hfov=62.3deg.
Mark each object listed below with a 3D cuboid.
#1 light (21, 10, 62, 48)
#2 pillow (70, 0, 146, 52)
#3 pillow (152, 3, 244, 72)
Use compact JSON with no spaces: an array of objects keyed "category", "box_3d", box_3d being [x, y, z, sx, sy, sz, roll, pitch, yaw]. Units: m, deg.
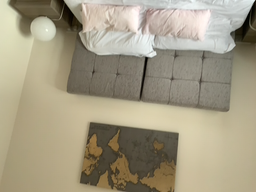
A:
[{"category":"light","box_3d":[-0.880,-0.680,2.180,0.250,0.240,0.280,8,171,5]},{"category":"pillow","box_3d":[-0.170,-0.680,1.870,0.610,0.250,0.200,33,168,12]},{"category":"pillow","box_3d":[0.590,-0.520,1.880,0.660,0.340,0.230,22,169,13]}]
